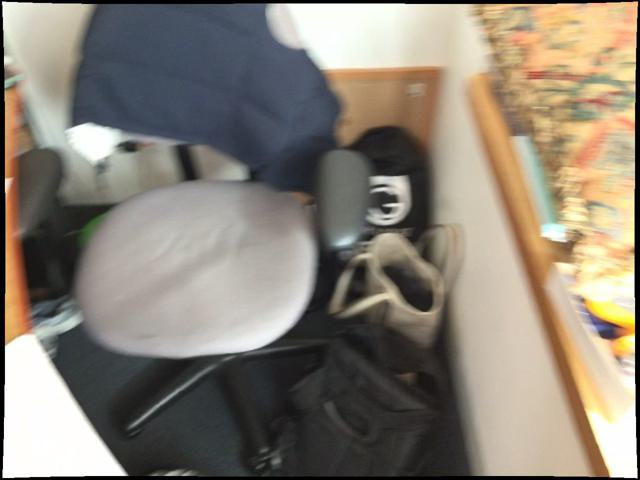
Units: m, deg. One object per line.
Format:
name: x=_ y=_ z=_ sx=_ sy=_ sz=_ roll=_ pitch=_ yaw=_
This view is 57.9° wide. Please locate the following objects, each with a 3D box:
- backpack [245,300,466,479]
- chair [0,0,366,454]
backpack: x=0.070 y=0.380 z=1.380 sx=0.440 sy=0.300 sz=0.360 roll=0 pitch=46 yaw=0
chair: x=-0.240 y=-0.040 z=1.300 sx=0.589 sy=1.000 sz=0.630 roll=0 pitch=46 yaw=0
